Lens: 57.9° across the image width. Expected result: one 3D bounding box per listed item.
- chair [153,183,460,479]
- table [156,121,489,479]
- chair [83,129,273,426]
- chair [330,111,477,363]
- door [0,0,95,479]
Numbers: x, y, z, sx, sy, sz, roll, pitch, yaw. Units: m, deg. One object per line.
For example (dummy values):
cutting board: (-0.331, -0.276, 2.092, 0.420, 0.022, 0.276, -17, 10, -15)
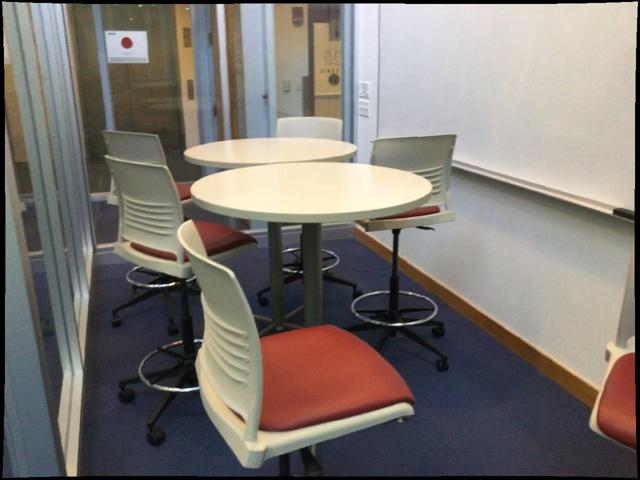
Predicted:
chair: (-0.070, 0.480, 1.520, 0.560, 1.121, 0.540, -7, 21, -20)
table: (-0.140, 0.110, 2.660, 0.939, 1.051, 1.550, -7, 21, -20)
chair: (-0.589, 0.120, 2.510, 0.510, 1.081, 0.540, -18, 26, -41)
chair: (0.380, -0.040, 2.910, 0.510, 1.121, 0.480, -7, 21, -20)
door: (-0.969, 0.060, 1.990, 0.170, 1.591, 1.150, -7, 21, -20)
